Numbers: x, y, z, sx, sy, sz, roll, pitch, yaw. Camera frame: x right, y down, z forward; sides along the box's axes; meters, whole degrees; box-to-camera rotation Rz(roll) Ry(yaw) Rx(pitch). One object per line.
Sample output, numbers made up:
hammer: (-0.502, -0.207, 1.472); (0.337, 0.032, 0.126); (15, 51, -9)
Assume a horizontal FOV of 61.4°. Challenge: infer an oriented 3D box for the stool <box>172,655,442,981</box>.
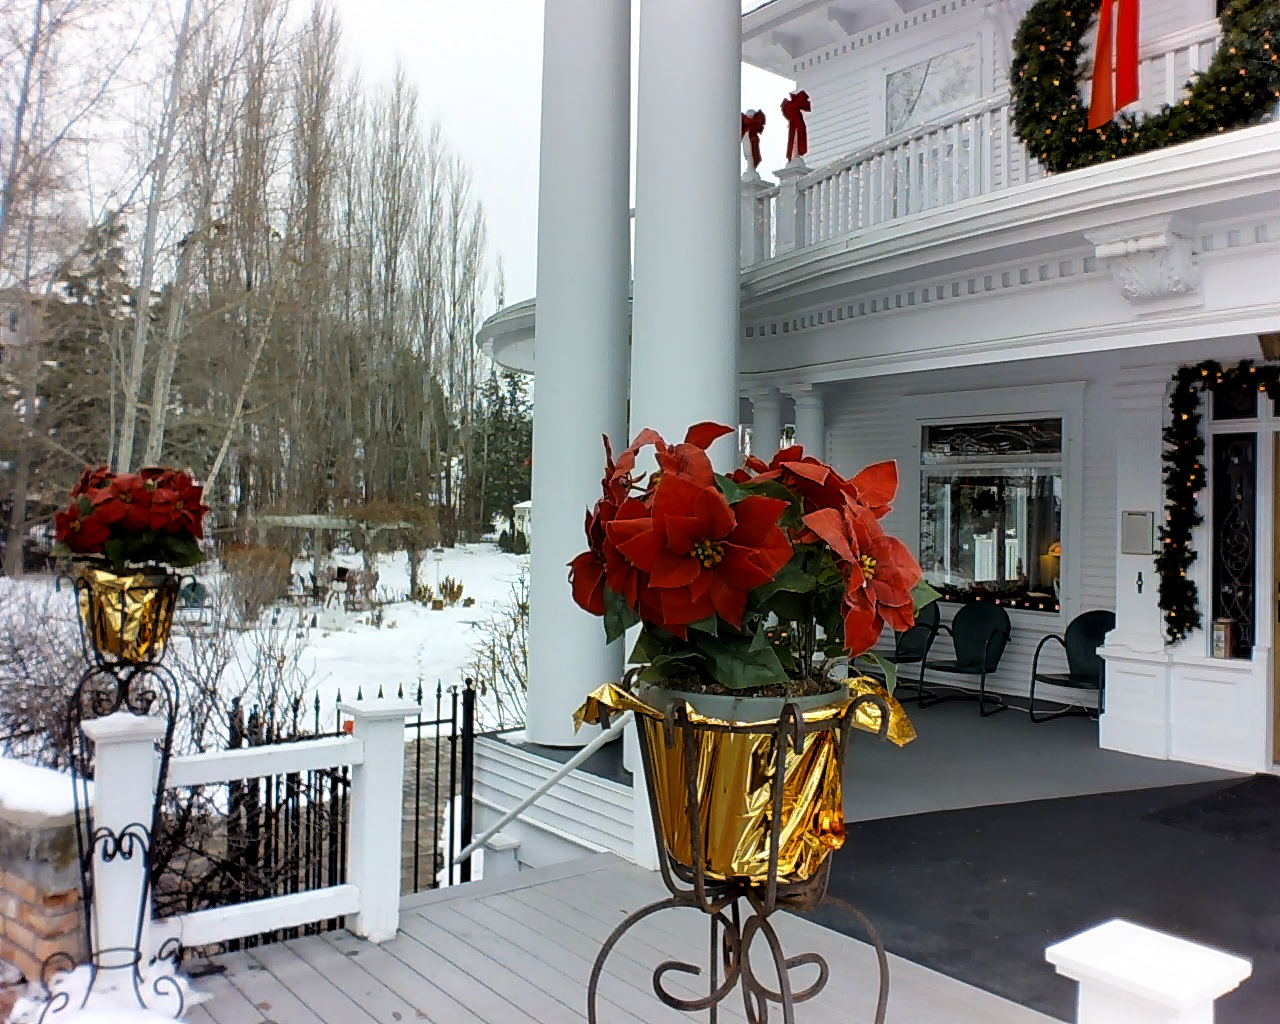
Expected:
stool: (-1.200, 1.060, 3.950); (0.890, 0.960, 0.310); (-1, 1, -39)
